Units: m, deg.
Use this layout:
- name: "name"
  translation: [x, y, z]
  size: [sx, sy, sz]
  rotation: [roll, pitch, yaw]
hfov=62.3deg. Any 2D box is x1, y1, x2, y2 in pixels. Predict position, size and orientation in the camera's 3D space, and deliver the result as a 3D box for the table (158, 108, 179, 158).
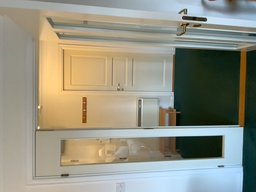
- name: "table"
  translation: [0.730, 0.660, 3.860]
  size: [0.240, 0.290, 0.840]
  rotation: [-159, 70, -78]
